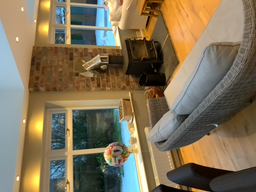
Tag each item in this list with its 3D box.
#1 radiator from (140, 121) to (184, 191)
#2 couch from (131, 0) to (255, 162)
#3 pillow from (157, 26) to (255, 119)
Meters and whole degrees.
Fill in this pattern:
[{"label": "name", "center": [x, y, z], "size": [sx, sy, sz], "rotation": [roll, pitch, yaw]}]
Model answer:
[{"label": "radiator", "center": [0.550, 1.330, 2.930], "size": [0.120, 0.410, 2.070], "rotation": [111, 154, -56]}, {"label": "couch", "center": [0.670, -0.160, 1.990], "size": [1.870, 0.770, 0.930], "rotation": [110, 155, -54]}, {"label": "pillow", "center": [0.600, -0.140, 1.590], "size": [0.180, 0.450, 0.780], "rotation": [62, 148, 23]}]
